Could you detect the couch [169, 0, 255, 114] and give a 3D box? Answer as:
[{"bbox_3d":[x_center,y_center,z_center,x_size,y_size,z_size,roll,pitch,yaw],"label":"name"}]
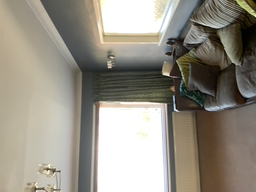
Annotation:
[{"bbox_3d":[1.100,-0.450,2.210,2.100,0.780,1.060,108,163,-79],"label":"couch"}]
